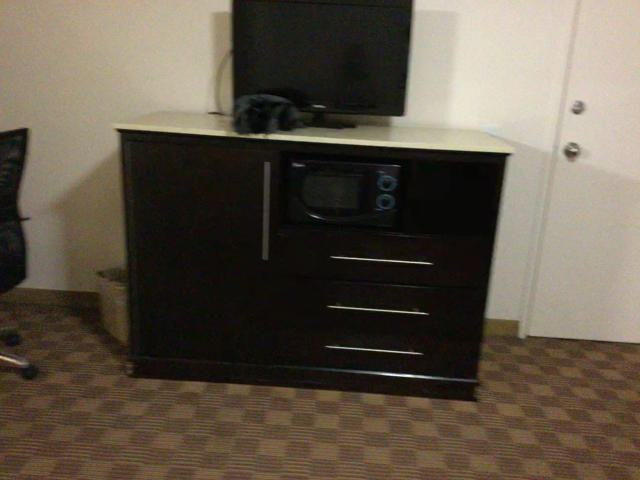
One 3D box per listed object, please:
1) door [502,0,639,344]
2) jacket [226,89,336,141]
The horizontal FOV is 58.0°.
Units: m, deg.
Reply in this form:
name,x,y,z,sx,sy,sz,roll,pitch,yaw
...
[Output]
name,x,y,z,sx,sy,sz,roll,pitch,yaw
door,1.460,-0.380,2.710,0.940,1.790,0.180,4,16,6
jacket,-0.140,-0.510,2.320,0.400,0.160,0.440,2,16,0
